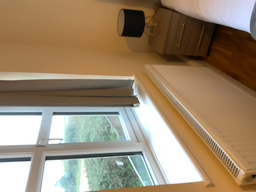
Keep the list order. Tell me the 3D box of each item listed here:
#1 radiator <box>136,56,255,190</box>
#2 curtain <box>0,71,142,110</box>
[{"bbox_3d":[0.550,0.000,1.390,1.310,0.670,0.100,-117,32,-59],"label":"radiator"},{"bbox_3d":[-0.560,-0.040,1.440,0.300,1.270,0.130,-117,31,-59],"label":"curtain"}]
